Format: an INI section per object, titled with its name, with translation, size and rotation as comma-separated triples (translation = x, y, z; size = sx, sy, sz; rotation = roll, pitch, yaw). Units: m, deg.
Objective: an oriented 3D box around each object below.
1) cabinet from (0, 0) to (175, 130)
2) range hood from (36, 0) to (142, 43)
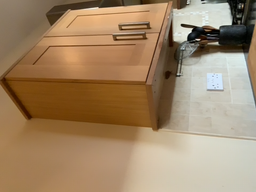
[cabinet]
translation = -0.160, -0.270, 1.340
size = 0.860, 0.820, 0.330
rotation = -71, -23, -43
[range hood]
translation = -0.300, -0.810, 1.880
size = 0.560, 0.700, 0.420
rotation = -71, -23, -43
